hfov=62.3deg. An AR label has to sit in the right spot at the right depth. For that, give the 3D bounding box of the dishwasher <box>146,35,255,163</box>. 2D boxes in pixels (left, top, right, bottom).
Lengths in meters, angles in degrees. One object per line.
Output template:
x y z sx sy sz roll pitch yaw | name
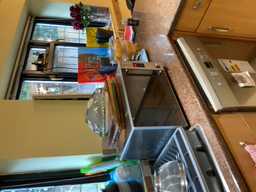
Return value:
0.700 0.040 1.540 0.650 0.900 0.580 107 158 -47 | dishwasher
